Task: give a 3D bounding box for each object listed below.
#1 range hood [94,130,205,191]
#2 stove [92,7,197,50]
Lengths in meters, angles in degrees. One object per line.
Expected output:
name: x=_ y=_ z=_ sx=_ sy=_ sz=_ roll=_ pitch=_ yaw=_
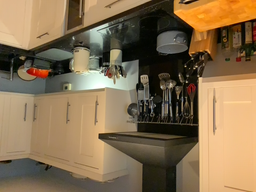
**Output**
range hood: x=0.160 y=0.660 z=1.620 sx=0.670 sy=0.730 sz=0.520 roll=-3 pitch=173 yaw=41
stove: x=0.130 y=-0.510 z=1.730 sx=0.670 sy=0.010 sz=0.540 roll=-3 pitch=173 yaw=41
